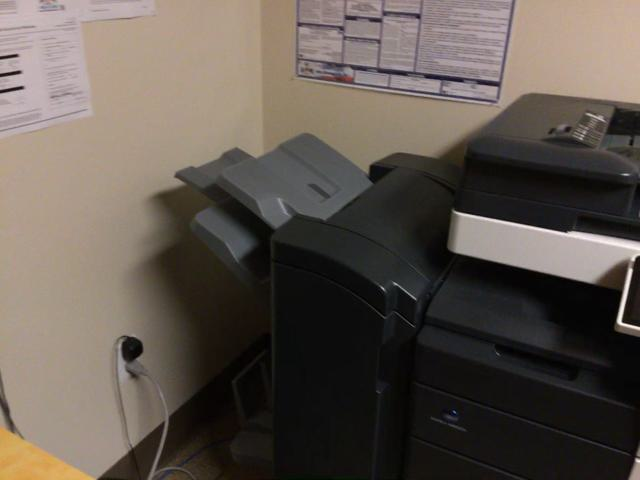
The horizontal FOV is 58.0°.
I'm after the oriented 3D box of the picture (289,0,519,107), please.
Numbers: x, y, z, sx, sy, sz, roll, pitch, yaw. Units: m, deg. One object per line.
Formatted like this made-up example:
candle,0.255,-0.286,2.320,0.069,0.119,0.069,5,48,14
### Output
picture,0.190,-0.530,1.510,0.610,0.290,0.040,14,29,27
